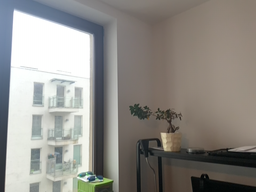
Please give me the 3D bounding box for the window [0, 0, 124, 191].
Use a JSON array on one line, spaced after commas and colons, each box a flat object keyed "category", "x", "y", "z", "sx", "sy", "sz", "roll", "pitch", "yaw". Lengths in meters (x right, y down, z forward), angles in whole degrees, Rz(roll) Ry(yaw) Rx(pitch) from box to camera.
[{"category": "window", "x": -0.780, "y": -0.010, "z": 1.410, "sx": 1.850, "sy": 1.780, "sz": 0.110, "roll": 5, "pitch": -9, "yaw": -40}]
